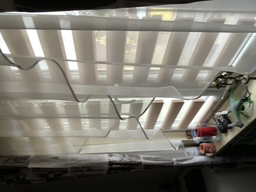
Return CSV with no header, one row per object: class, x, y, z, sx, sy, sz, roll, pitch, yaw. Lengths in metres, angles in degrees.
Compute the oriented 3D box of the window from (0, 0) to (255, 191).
window,-0.200,0.110,1.090,1.890,1.820,0.220,98,169,-51
